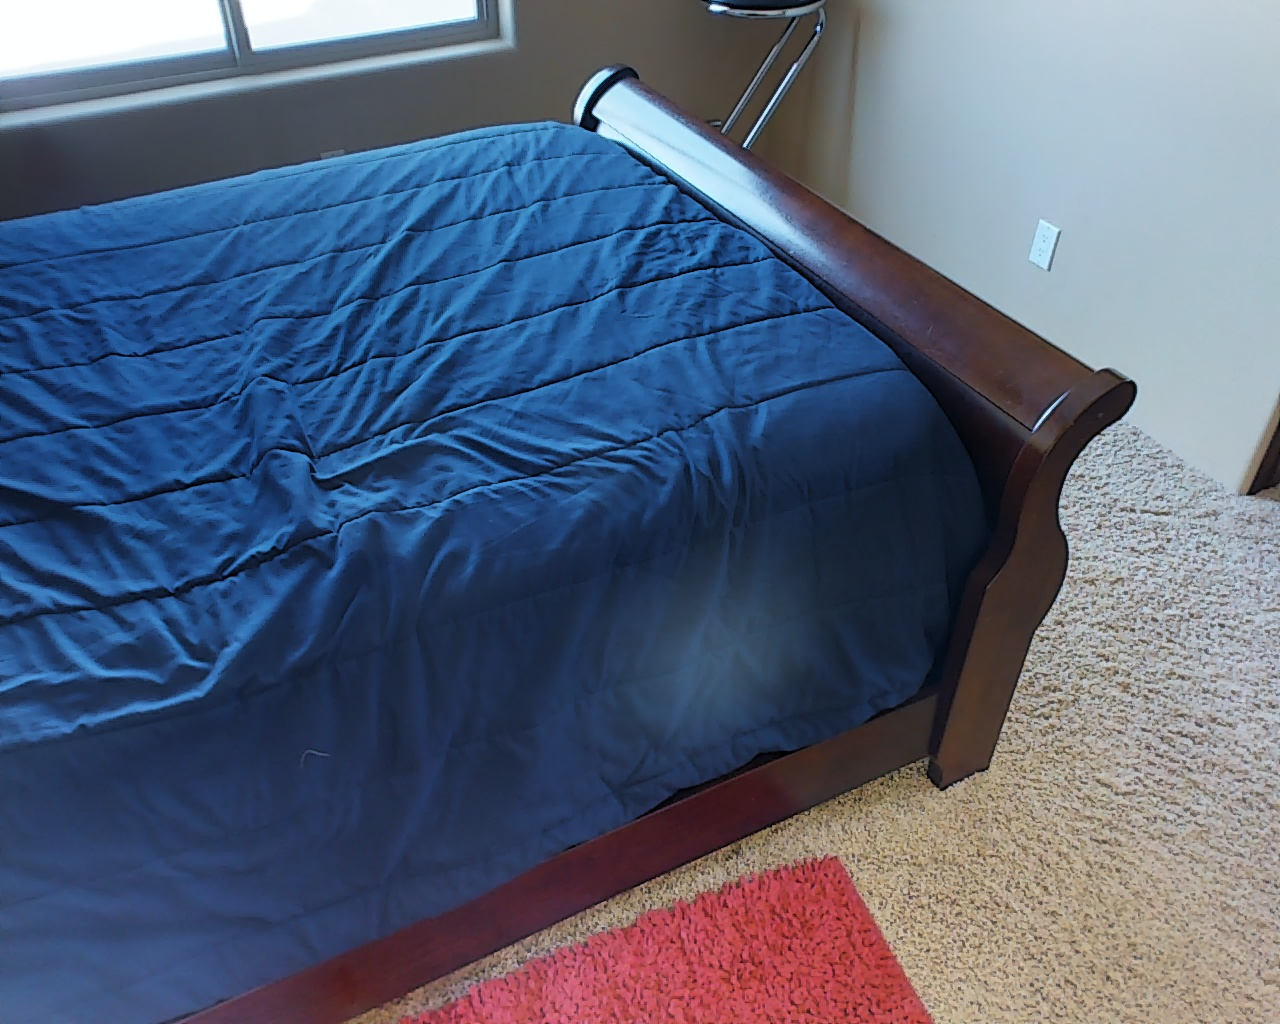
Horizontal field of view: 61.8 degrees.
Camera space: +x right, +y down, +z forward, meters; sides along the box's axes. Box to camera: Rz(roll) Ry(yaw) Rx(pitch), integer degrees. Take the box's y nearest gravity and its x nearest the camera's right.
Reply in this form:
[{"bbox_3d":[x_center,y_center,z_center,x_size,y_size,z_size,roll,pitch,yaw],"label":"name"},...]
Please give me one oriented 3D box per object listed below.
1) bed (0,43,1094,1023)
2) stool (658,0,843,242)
[{"bbox_3d":[-0.690,-0.030,1.800,2.001,0.740,1.640,-18,44,-21],"label":"bed"},{"bbox_3d":[0.340,-1.309,3.330,0.430,0.740,0.420,15,43,15],"label":"stool"}]
